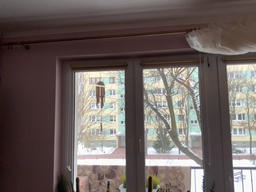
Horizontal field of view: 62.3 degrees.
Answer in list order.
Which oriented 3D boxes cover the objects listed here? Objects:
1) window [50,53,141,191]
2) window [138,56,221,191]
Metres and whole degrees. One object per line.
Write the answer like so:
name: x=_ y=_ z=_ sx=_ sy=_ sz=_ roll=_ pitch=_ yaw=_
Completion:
window: x=-0.310 y=0.320 z=2.010 sx=0.820 sy=1.410 sz=0.140 roll=-2 pitch=-6 yaw=6
window: x=0.460 y=0.360 z=2.000 sx=0.700 sy=1.440 sz=0.170 roll=-1 pitch=-6 yaw=3
